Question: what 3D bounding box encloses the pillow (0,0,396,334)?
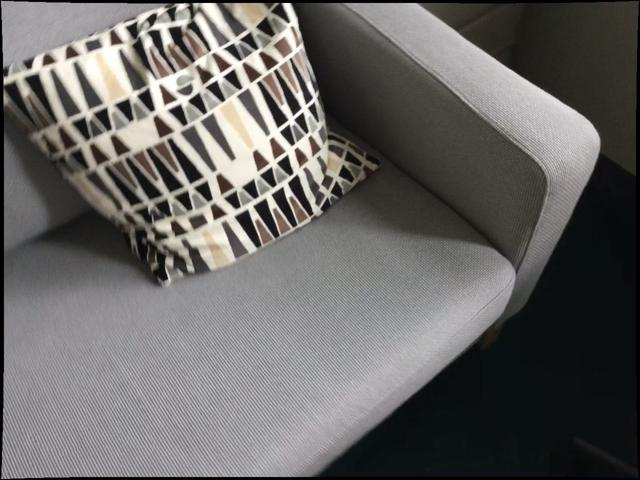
[{"bbox_3d":[-0.200,-0.200,0.930,0.500,0.340,0.380,-34,61,-16],"label":"pillow"}]
